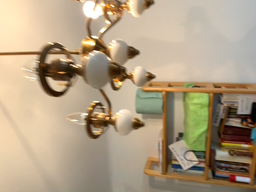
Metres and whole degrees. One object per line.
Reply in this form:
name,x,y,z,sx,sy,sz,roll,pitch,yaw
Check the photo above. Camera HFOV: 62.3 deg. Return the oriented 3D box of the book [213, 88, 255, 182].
book,0.780,0.270,1.530,0.270,0.240,0.590,-52,-39,-65
